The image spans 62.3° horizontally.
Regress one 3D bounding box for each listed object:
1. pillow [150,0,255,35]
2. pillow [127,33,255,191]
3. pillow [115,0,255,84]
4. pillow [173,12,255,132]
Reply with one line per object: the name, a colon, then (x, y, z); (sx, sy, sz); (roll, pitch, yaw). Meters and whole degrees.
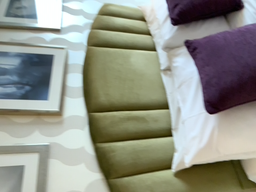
pillow: (0.400, -0.570, 1.190); (0.230, 0.370, 0.440); (104, 147, -44)
pillow: (0.390, 0.030, 1.050); (0.650, 0.490, 0.270); (58, 147, 26)
pillow: (0.330, -0.480, 1.350); (0.710, 0.490, 0.270); (56, 146, 25)
pillow: (0.480, -0.130, 0.870); (0.410, 0.380, 0.180); (57, 146, 25)
